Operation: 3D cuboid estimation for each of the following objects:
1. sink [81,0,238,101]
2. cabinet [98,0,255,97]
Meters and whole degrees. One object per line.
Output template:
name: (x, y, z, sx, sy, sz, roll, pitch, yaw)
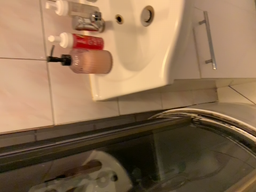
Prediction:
sink: (0.050, -0.260, 0.650, 0.400, 0.200, 0.500, -11, 85, 50)
cabinet: (0.300, -0.270, 0.920, 0.310, 0.780, 0.470, -11, 85, 50)
